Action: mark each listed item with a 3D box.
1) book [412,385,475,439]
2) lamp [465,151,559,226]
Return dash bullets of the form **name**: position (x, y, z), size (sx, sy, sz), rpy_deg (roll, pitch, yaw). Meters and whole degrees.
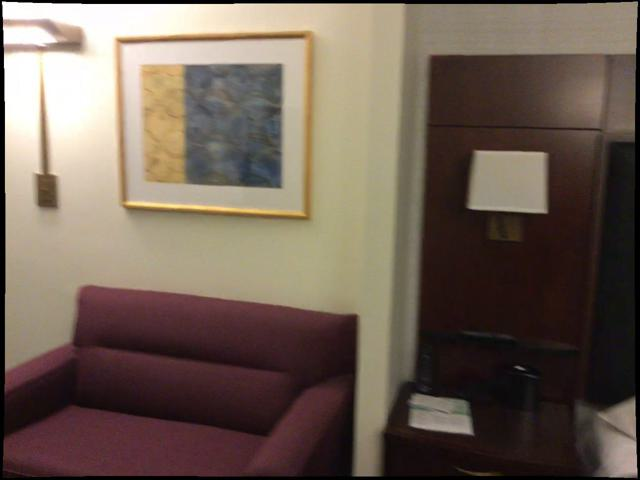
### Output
- **book**: position (0.430, 0.601, 2.040), size (0.200, 0.030, 0.300), rpy_deg (4, 11, 9)
- **lamp**: position (0.669, -0.190, 2.040), size (0.280, 0.230, 0.200), rpy_deg (5, 11, 15)
